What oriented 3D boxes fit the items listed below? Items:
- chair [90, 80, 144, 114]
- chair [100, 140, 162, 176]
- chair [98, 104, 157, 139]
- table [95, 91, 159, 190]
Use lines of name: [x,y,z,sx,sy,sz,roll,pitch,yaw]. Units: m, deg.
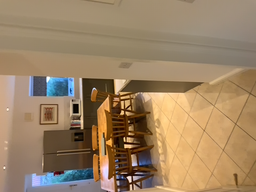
chair: [-0.230,0.030,4.030,0.520,0.880,0.510,139,128,-64]
chair: [0.020,1.000,3.430,0.550,0.820,0.440,138,129,-64]
chair: [-0.030,0.440,3.570,0.560,0.820,0.490,147,121,-66]
table: [-0.090,0.780,3.840,0.940,0.750,1.530,138,129,-64]
